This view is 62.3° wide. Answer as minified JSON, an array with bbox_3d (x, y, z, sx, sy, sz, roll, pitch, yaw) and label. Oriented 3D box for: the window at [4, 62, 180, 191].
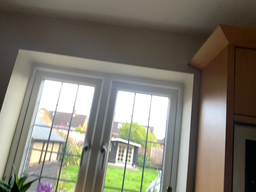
[{"bbox_3d":[-0.200,0.340,1.320,0.950,1.010,0.090,8,-13,1],"label":"window"}]
